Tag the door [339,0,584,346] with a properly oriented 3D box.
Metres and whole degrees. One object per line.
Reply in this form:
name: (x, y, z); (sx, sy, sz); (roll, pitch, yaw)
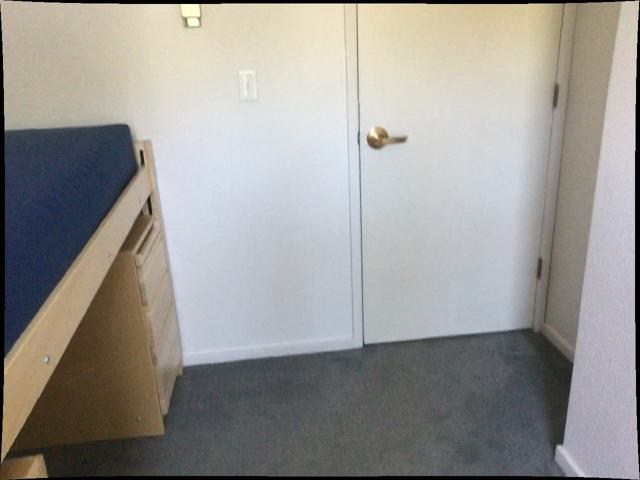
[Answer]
door: (0.529, -0.511, 2.300); (0.889, 2.003, 0.150); (-3, 23, -7)
